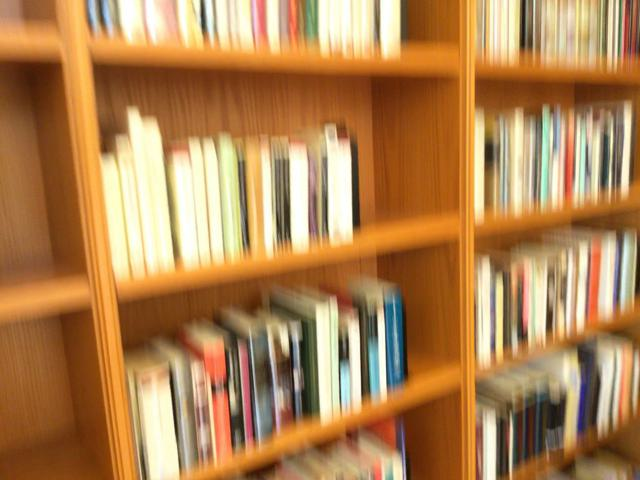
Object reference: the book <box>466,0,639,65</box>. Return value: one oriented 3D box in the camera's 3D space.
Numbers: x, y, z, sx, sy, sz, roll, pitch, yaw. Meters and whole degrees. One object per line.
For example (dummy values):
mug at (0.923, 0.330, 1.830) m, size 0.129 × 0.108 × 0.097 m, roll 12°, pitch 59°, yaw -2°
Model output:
book at (0.640, -0.610, 1.470) m, size 0.690 × 0.290 × 0.070 m, roll -9°, pitch 9°, yaw -32°

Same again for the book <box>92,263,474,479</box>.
book at (-0.030, 0.270, 1.200) m, size 0.770 × 0.310 × 0.200 m, roll -9°, pitch 9°, yaw -32°

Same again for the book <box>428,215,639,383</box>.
book at (0.670, 0.130, 1.650) m, size 0.800 × 0.310 × 0.170 m, roll -9°, pitch 9°, yaw -32°

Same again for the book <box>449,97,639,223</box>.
book at (0.660, -0.230, 1.540) m, size 0.760 × 0.280 × 0.100 m, roll -9°, pitch 9°, yaw -32°

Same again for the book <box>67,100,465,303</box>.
book at (-0.060, -0.110, 1.150) m, size 0.760 × 0.300 × 0.200 m, roll -9°, pitch 9°, yaw -32°

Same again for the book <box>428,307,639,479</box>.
book at (0.700, 0.480, 1.720) m, size 0.810 × 0.380 × 0.200 m, roll -9°, pitch 9°, yaw -32°
